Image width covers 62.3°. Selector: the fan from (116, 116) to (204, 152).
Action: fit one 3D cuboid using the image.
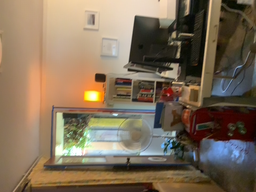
[{"bbox_3d":[0.480,0.580,3.270,0.410,1.270,0.490,147,125,-78],"label":"fan"}]
